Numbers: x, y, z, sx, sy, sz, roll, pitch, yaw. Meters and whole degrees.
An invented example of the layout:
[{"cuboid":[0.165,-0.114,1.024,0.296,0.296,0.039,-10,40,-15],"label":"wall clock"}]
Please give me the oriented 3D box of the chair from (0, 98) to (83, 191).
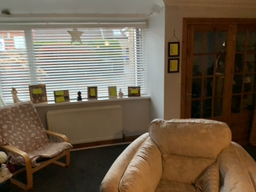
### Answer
[{"cuboid":[-1.270,0.610,2.870,1.020,0.920,0.750,8,15,34],"label":"chair"}]
